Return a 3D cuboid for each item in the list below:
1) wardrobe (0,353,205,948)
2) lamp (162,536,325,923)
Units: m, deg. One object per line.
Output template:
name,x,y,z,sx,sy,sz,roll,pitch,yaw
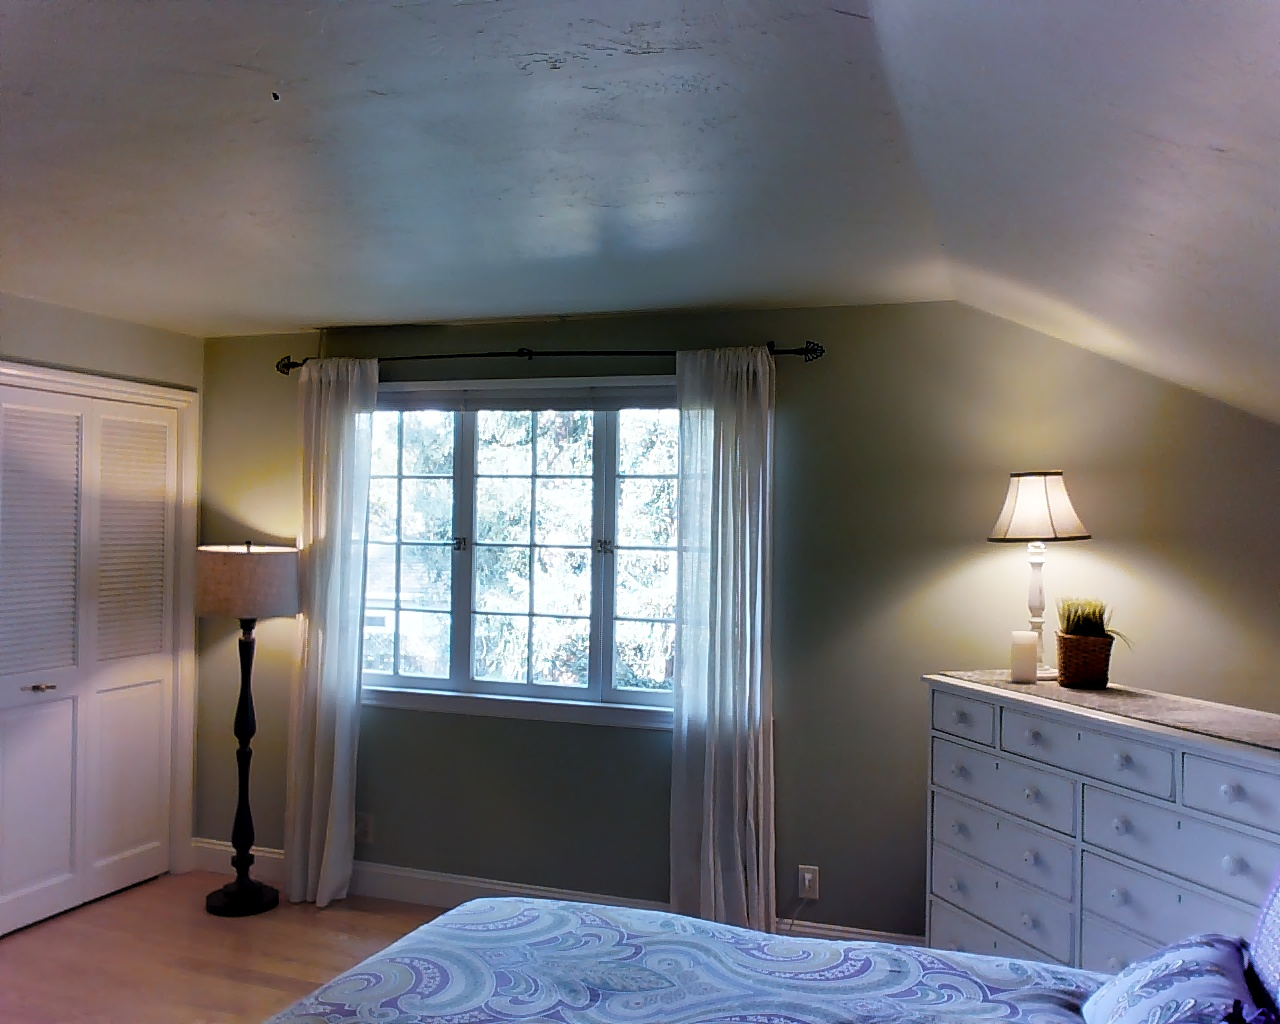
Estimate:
wardrobe,-2.300,0.490,3.760,0.100,2.090,2.010,1,0,19
lamp,-1.590,0.830,4.340,0.420,1.450,0.410,1,0,19
